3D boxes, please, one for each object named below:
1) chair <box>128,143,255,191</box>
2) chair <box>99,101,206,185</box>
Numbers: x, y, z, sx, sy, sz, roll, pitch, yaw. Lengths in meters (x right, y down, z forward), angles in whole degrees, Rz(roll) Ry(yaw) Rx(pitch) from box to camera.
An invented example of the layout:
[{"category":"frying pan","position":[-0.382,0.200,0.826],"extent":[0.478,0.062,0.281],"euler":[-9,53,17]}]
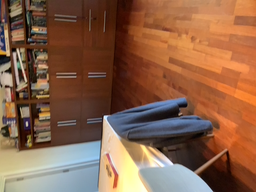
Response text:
[{"category":"chair","position":[0.480,0.730,1.500],"extent":[0.470,0.840,0.500],"euler":[-140,51,-59]},{"category":"chair","position":[0.210,0.400,2.060],"extent":[0.490,0.840,0.510],"euler":[-140,51,-59]}]
